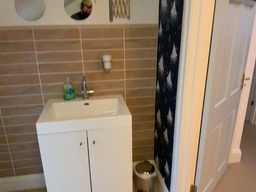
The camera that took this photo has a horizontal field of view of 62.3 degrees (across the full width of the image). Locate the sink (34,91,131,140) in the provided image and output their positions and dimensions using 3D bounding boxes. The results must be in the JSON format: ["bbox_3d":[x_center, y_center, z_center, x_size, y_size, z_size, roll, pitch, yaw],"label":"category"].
[{"bbox_3d":[-0.320,0.120,1.590,0.610,0.140,0.450,-5,20,-10],"label":"sink"}]
